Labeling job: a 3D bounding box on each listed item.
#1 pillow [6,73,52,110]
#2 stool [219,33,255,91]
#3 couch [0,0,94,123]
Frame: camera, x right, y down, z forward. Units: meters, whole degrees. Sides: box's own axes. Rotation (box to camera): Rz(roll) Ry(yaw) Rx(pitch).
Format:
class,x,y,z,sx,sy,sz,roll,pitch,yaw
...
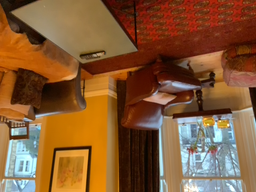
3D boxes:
class,x,y,z,sx,sy,sz,roll,pitch,yaw
pillow,-1.110,-0.070,2.440,0.110,0.360,0.520,-7,-174,17
stool,1.610,-0.430,2.780,0.680,0.450,0.700,-8,161,23
couch,-1.420,-0.390,1.970,1.070,0.860,2.440,-7,163,20
